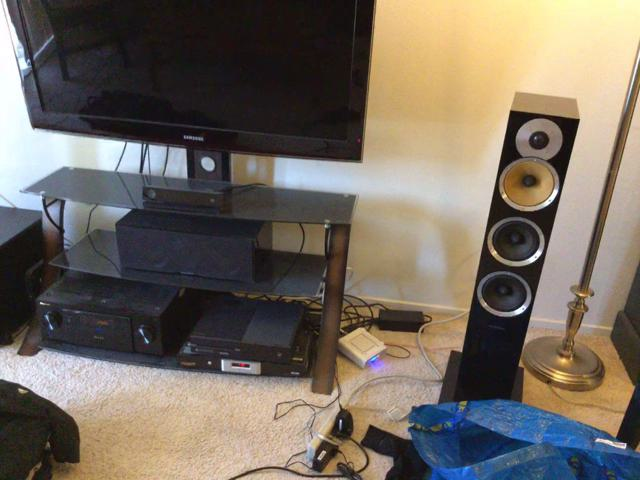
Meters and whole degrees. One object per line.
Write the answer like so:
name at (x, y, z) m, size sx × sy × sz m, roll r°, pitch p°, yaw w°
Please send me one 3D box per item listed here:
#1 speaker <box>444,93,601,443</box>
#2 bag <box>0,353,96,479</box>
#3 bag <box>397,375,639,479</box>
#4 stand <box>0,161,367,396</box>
speaker at (0.560, 0.070, 1.730) m, size 0.260 × 0.960 × 0.390 m, roll 3°, pitch 18°, yaw 6°
bag at (-0.860, 0.510, 1.450) m, size 0.380 × 0.260 × 0.430 m, roll 3°, pitch 18°, yaw 6°
bag at (0.520, 0.590, 1.480) m, size 0.630 × 0.240 × 0.420 m, roll 3°, pitch 19°, yaw 8°
stand at (-0.470, 0.100, 2.060) m, size 1.230 × 0.640 × 0.480 m, roll 3°, pitch 18°, yaw 6°
